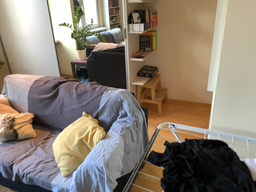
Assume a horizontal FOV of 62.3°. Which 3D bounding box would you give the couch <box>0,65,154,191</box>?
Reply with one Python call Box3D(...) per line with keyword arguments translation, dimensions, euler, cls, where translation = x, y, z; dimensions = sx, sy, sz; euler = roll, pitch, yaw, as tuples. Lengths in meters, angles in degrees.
Box3D(translation=(-0.740, 0.320, 1.950), dimensions=(1.730, 0.840, 0.910), euler=(9, 27, 23), cls="couch")
